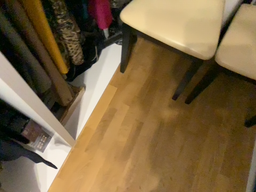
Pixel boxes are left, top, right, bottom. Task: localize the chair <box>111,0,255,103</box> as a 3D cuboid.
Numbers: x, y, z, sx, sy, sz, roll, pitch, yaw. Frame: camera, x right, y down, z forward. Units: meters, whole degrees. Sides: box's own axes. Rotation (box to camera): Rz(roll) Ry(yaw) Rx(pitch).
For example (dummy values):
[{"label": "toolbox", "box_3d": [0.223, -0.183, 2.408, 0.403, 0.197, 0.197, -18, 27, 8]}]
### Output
[{"label": "chair", "box_3d": [0.260, -0.490, 0.950, 0.460, 1.050, 0.570, 24, 67, 6]}]
